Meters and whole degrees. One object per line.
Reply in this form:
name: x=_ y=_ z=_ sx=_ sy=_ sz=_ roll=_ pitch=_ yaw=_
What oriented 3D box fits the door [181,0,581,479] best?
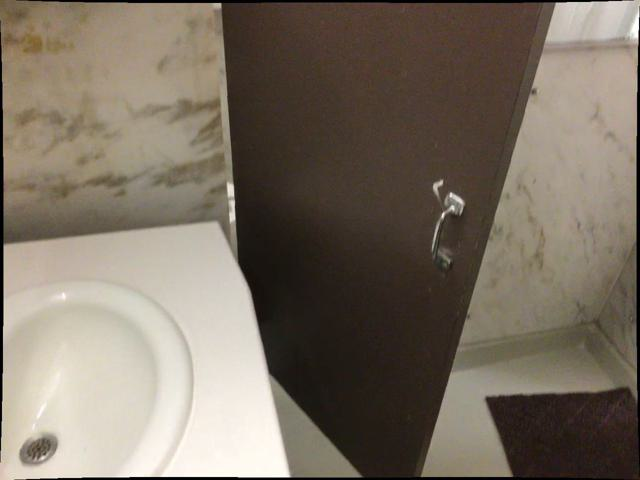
door: x=0.000 y=-0.180 z=0.990 sx=0.110 sy=1.601 sz=0.710 roll=-26 pitch=47 yaw=-31

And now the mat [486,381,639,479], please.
mat: x=0.799 y=0.671 z=1.620 sx=0.490 sy=0.050 sz=0.640 roll=0 pitch=37 yaw=-3
